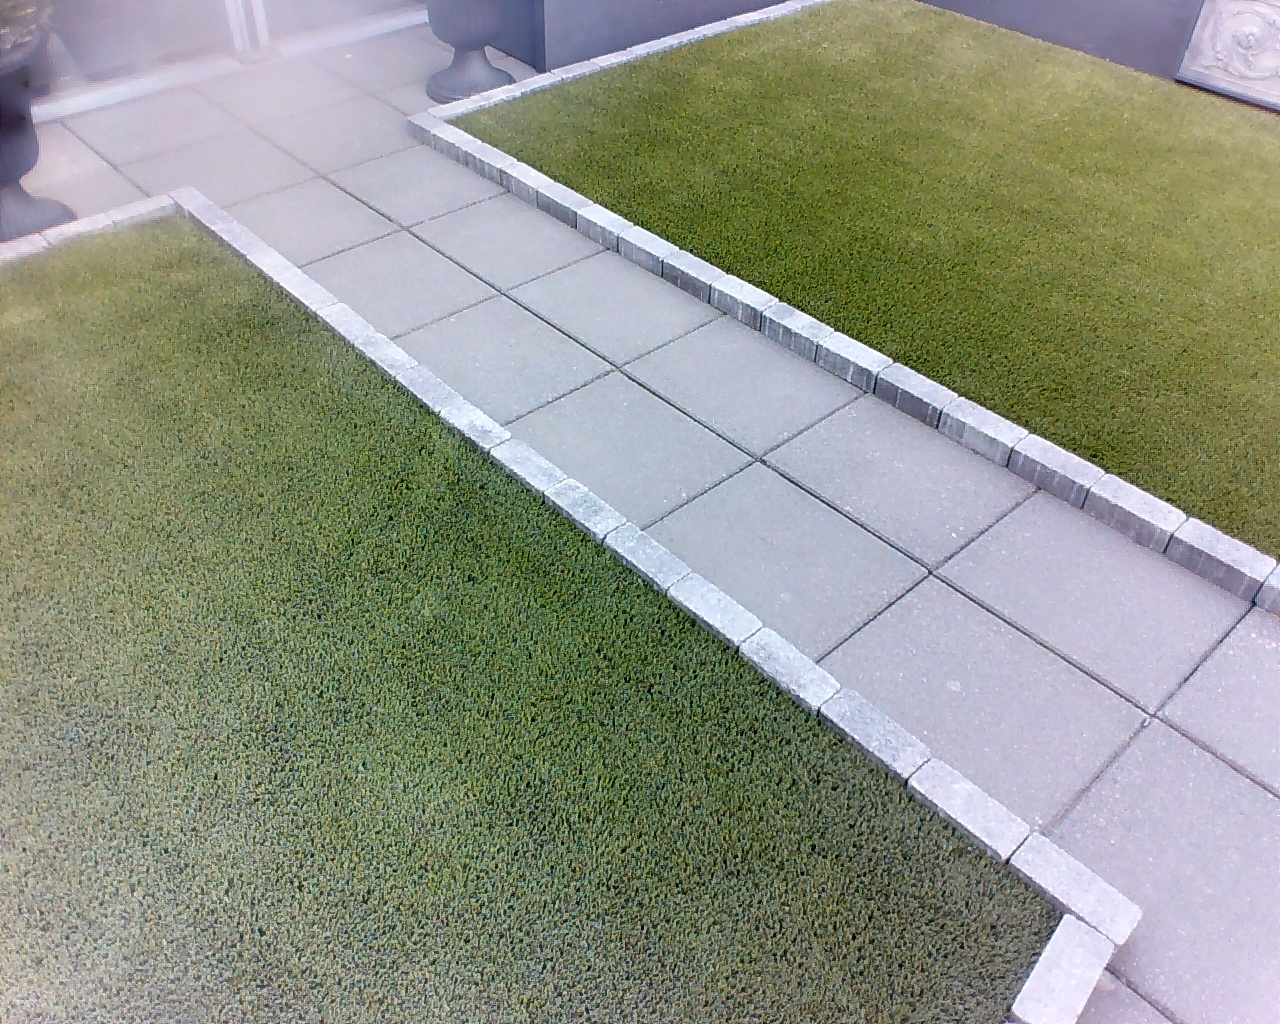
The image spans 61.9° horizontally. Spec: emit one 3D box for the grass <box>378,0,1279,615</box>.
[{"bbox_3d":[1.810,-0.800,3.040,2.780,0.120,5.180,-29,50,-29],"label":"grass"}]
